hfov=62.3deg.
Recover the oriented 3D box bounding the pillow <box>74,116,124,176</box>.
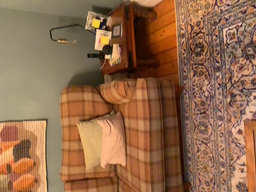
[{"bbox_3d":[-0.270,0.410,1.900,0.390,0.290,0.420,-2,91,59],"label":"pillow"}]
